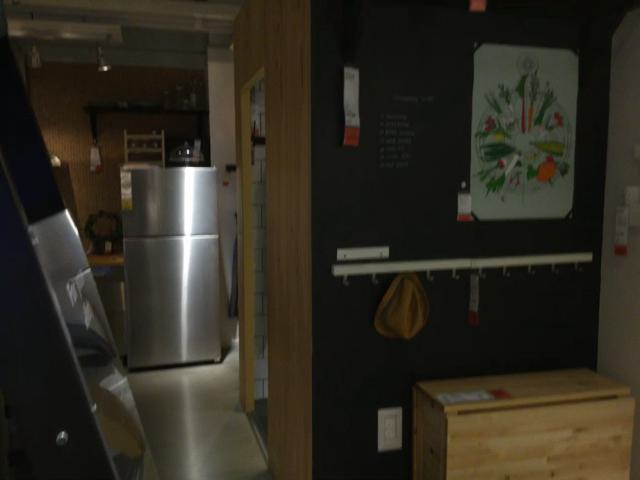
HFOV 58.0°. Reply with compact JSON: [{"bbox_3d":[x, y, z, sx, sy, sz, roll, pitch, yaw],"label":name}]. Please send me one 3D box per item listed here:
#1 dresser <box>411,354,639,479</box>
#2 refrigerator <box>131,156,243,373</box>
[{"bbox_3d":[0.830,0.890,2.230,0.850,0.720,0.400,-3,6,-15],"label":"dresser"},{"bbox_3d":[-1.040,0.170,4.630,0.750,1.630,0.470,-3,6,-9],"label":"refrigerator"}]
